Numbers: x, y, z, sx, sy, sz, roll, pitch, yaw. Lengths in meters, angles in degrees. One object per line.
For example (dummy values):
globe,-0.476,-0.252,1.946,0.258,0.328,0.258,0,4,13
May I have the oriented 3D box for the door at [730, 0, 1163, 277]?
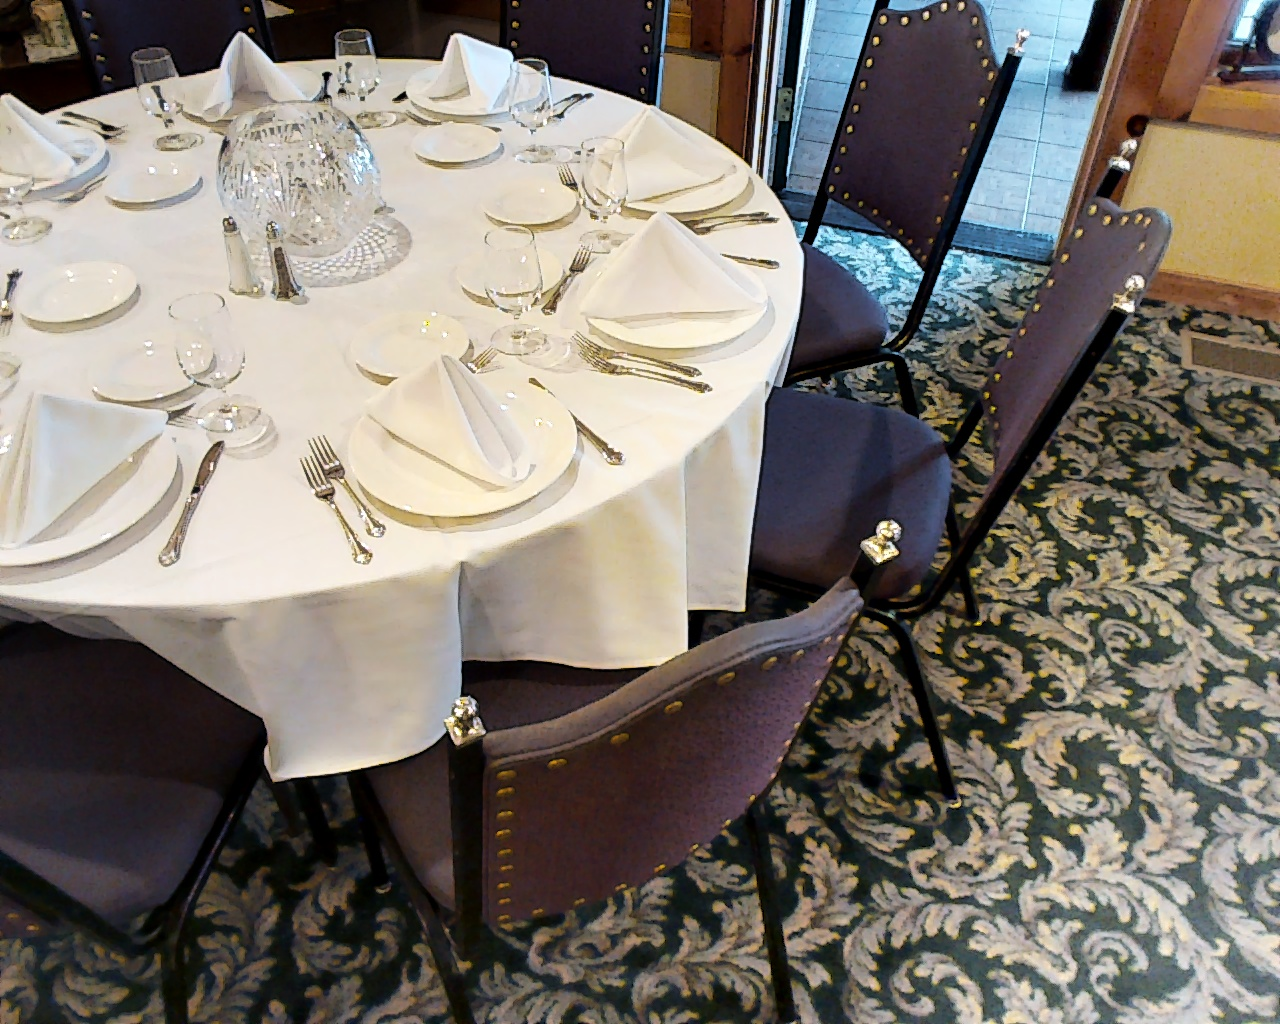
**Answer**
door,0.830,-1.670,2.610,1.020,2.100,0.330,14,44,13
